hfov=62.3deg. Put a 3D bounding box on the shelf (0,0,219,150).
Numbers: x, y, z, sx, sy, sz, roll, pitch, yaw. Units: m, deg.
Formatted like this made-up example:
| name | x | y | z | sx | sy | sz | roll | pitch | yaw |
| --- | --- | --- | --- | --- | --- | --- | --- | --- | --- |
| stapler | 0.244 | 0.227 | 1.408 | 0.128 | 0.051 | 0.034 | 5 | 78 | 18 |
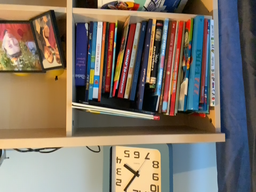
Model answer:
| name | x | y | z | sx | sy | sz | roll | pitch | yaw |
| --- | --- | --- | --- | --- | --- | --- | --- | --- | --- |
| shelf | -0.180 | -0.410 | 0.710 | 0.880 | 1.110 | 0.240 | 0 | 178 | -8 |
